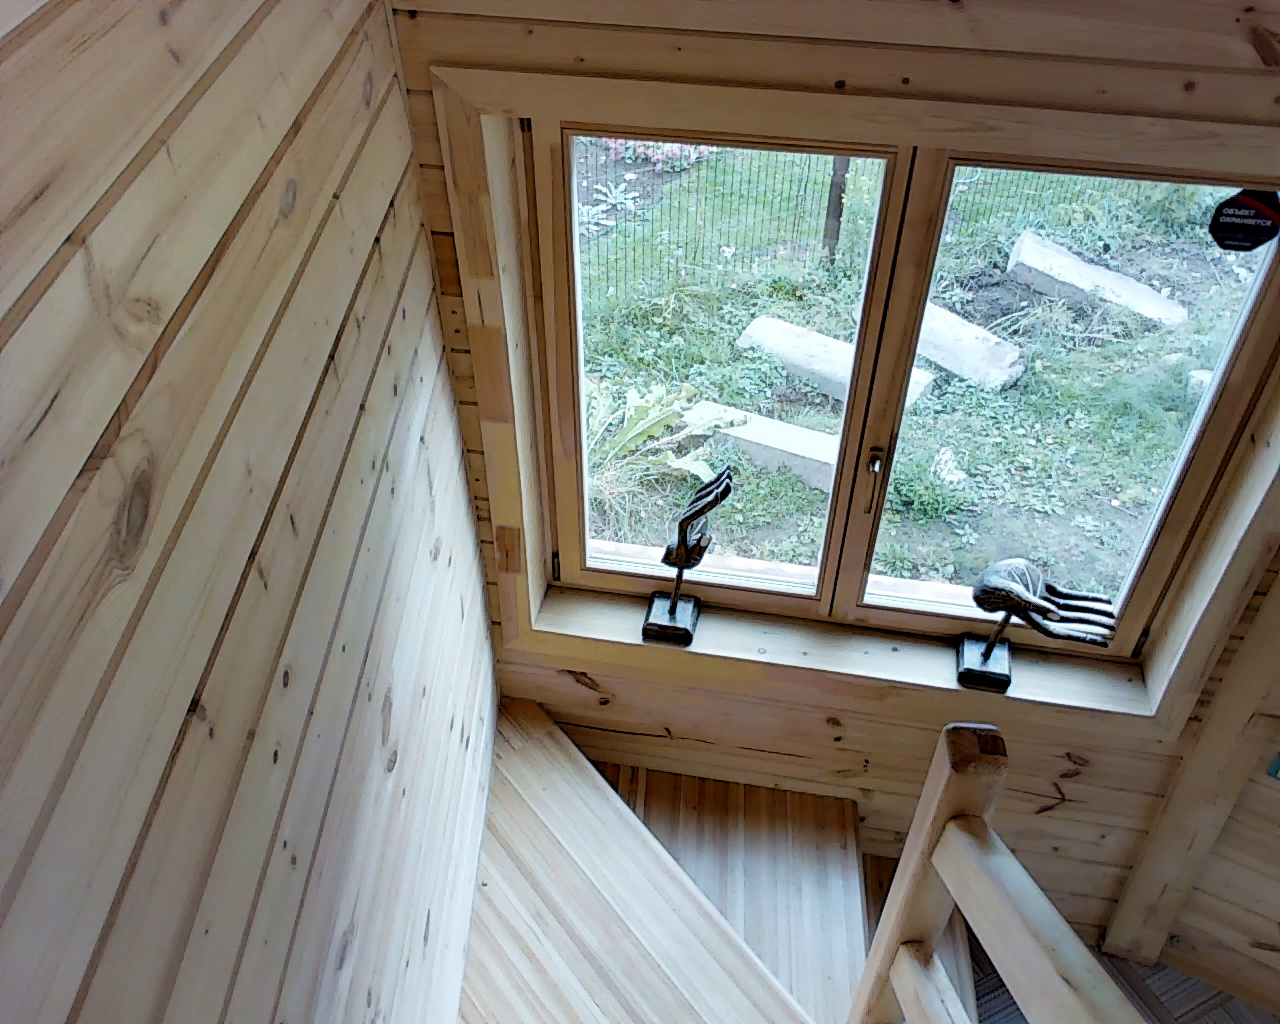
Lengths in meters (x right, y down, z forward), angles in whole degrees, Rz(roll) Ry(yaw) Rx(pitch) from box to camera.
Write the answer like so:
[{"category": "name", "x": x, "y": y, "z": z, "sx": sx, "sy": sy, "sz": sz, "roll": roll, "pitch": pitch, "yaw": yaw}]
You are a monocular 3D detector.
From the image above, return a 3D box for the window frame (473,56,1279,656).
[{"category": "window frame", "x": 0.450, "y": -0.230, "z": 2.270, "sx": 1.450, "sy": 1.330, "sz": 0.210, "roll": 2, "pitch": 42, "yaw": 1}]
